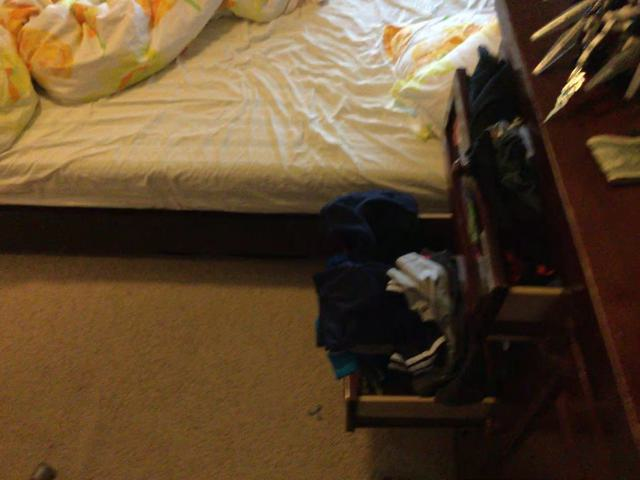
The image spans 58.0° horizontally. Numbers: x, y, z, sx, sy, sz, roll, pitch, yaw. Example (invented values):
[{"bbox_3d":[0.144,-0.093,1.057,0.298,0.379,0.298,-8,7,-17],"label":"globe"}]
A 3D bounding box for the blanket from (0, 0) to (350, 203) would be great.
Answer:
[{"bbox_3d":[-0.520,-0.670,1.580,1.170,0.400,1.090,3,52,-1],"label":"blanket"}]
